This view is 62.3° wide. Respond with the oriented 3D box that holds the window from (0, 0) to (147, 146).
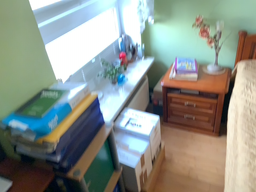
[{"bbox_3d":[-0.270,-0.810,1.390,0.180,1.880,1.310,11,38,25],"label":"window"}]
